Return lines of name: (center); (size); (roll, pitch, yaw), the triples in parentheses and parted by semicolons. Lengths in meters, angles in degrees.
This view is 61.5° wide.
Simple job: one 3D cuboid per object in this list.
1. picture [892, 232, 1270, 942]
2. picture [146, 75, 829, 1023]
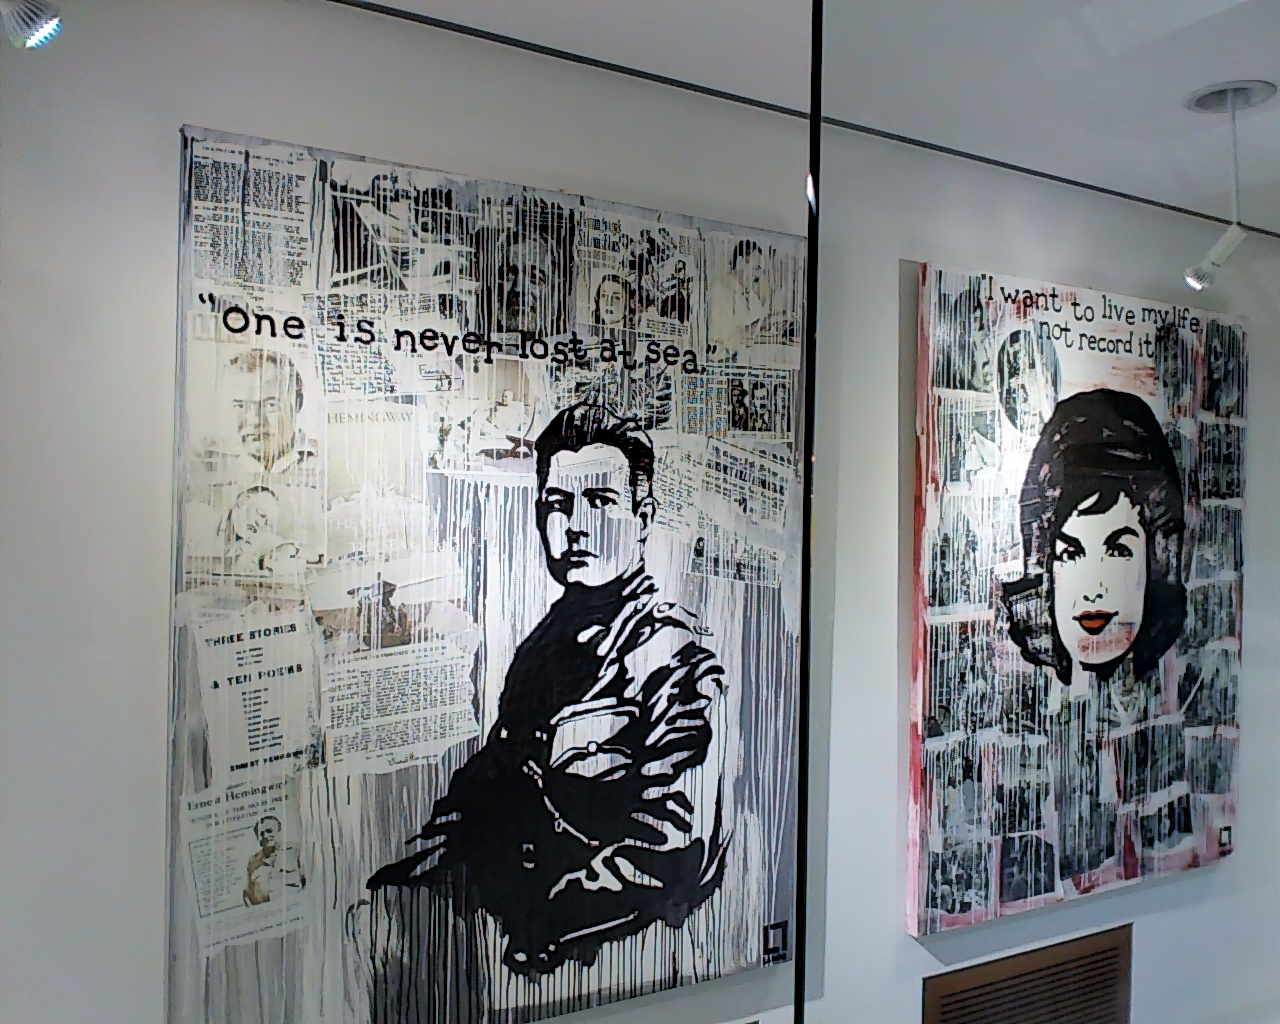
picture: (1.180, 0.180, 2.750); (1.310, 1.590, 0.060); (1, -1, -29)
picture: (-0.190, 0.160, 1.980); (1.280, 1.640, 0.050); (1, -1, -29)
